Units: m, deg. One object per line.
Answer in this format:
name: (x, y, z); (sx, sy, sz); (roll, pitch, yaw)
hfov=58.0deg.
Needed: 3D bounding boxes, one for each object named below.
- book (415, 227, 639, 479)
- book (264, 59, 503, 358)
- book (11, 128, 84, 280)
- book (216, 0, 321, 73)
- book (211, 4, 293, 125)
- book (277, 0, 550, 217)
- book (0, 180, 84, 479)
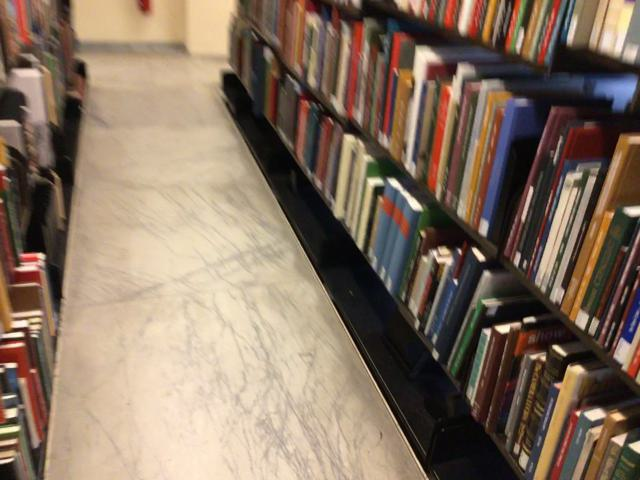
book: (0.490, 0.370, 1.040); (0.190, 0.400, 0.930); (-7, 29, -17)
book: (0.070, -0.280, 2.120); (0.150, 0.410, 1.720); (-7, 29, -17)
book: (-1.020, -0.160, 2.210); (0.150, 0.370, 0.570); (-6, 29, -17)
book: (-0.340, -1.330, 3.130); (0.180, 0.480, 1.630); (-7, 29, -17)
book: (-0.420, -1.040, 3.270); (0.180, 0.410, 1.260); (-7, 29, -17)
book: (0.160, -0.600, 1.960); (0.260, 0.460, 1.420); (-7, 29, -17)
book: (-0.740, 0.250, 1.500); (0.150, 0.390, 1.180); (-6, 29, -17)
